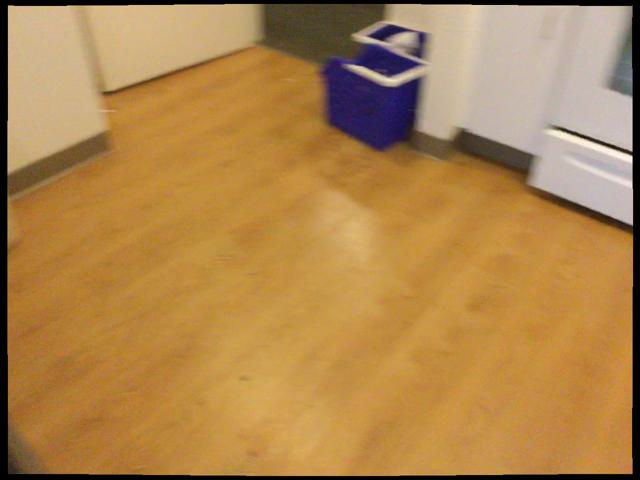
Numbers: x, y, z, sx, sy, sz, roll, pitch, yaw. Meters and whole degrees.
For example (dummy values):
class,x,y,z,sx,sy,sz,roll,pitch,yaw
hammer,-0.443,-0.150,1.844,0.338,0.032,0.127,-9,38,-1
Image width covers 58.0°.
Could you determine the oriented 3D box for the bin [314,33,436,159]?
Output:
class,x,y,z,sx,sy,sz,roll,pitch,yaw
bin,0.220,-0.631,2.490,0.260,0.340,0.440,-32,50,-32
